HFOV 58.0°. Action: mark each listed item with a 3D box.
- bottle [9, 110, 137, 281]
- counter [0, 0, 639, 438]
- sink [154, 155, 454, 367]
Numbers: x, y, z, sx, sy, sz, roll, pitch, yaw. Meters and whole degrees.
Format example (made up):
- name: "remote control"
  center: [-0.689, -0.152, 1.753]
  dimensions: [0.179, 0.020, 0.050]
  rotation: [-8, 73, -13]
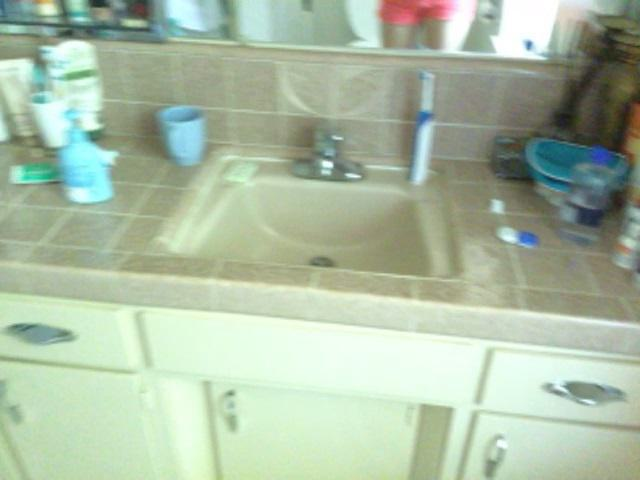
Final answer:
- name: "bottle"
  center: [-0.440, -0.080, 1.060]
  dimensions: [0.120, 0.270, 0.130]
  rotation: [8, 34, 8]
- name: "counter"
  center: [-0.710, -0.190, 1.090]
  dimensions: [2.690, 0.420, 0.650]
  rotation: [6, 33, 5]
- name: "sink"
  center: [-0.010, 0.020, 1.110]
  dimensions: [0.480, 0.190, 0.350]
  rotation: [6, 35, 6]
